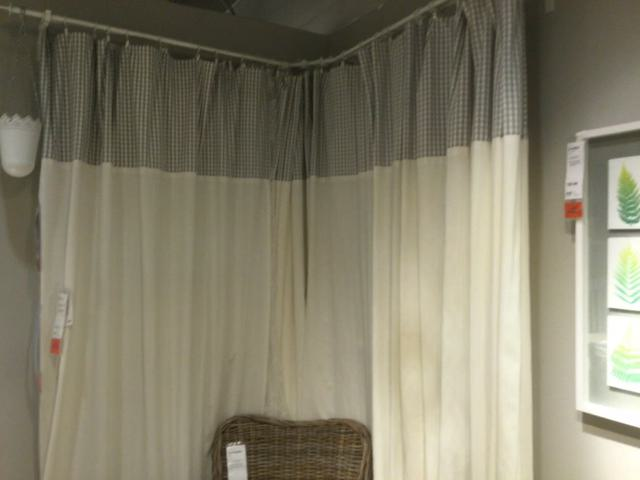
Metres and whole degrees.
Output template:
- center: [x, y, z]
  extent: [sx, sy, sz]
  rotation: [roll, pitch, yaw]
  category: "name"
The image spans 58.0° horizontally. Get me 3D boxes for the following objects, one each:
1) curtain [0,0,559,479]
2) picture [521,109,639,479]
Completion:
- center: [-0.220, 0.390, 2.030]
  extent: [1.720, 2.440, 1.180]
  rotation: [1, -2, 10]
  category: "curtain"
- center: [0.790, 0.120, 1.300]
  extent: [0.090, 0.840, 0.730]
  rotation: [3, -2, -32]
  category: "picture"
